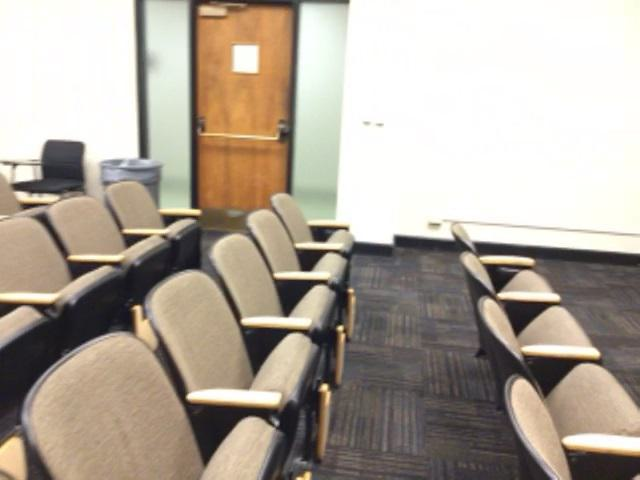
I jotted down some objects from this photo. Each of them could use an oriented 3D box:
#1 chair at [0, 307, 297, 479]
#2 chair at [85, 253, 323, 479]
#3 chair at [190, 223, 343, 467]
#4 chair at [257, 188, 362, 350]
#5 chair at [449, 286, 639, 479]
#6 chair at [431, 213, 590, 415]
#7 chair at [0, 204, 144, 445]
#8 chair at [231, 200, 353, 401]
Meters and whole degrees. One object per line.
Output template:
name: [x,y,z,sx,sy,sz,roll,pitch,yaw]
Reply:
chair: [-0.370,0.640,1.390,0.550,0.760,0.590,2,16,5]
chair: [-0.310,0.510,1.870,0.560,0.770,0.590,3,16,6]
chair: [-0.180,0.390,2.370,0.500,0.780,0.590,2,16,5]
chair: [-0.040,0.140,3.300,0.520,0.760,0.570,2,16,5]
chair: [0.700,0.590,1.720,0.500,0.730,0.570,2,16,5]
chair: [0.840,0.310,2.730,0.520,0.730,0.640,2,16,5]
chair: [-1.110,0.320,2.430,0.490,0.830,0.540,2,16,5]
chair: [-0.110,0.260,2.830,0.490,0.780,0.630,2,16,5]
